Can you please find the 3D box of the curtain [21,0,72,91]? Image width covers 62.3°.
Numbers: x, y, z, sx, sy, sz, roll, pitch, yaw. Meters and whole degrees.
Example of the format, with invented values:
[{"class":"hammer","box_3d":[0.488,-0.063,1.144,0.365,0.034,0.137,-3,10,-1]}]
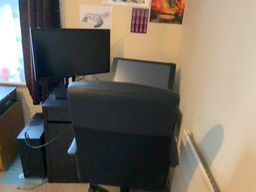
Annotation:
[{"class":"curtain","box_3d":[-0.670,-0.840,1.740,0.350,1.630,0.170,4,22,-4]}]
